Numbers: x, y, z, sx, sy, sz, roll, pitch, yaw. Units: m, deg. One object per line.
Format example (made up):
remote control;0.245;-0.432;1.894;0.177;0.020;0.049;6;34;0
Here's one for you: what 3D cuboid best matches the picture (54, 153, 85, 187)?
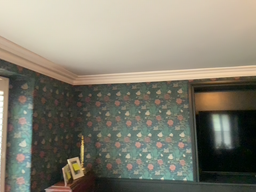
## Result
picture;-0.590;0.750;2.200;0.170;0.240;0.390;-2;-6;7
